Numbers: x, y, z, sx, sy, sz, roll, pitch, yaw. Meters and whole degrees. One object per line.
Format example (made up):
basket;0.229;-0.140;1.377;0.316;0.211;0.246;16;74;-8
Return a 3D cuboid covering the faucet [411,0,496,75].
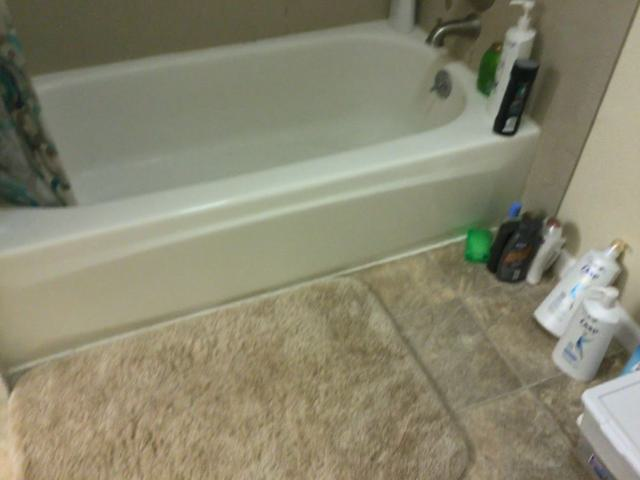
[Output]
faucet;0.390;-0.680;1.670;0.140;0.330;0.180;-13;45;-17
